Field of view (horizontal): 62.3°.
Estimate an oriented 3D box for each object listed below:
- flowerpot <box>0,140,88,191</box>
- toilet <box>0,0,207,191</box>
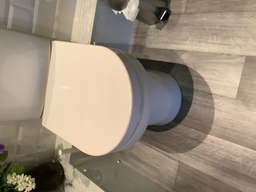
[{"bbox_3d":[-0.480,0.400,0.930,0.260,0.510,0.270,17,100,40],"label":"flowerpot"},{"bbox_3d":[-0.200,-0.030,0.840,0.650,0.810,0.370,16,100,41],"label":"toilet"}]
